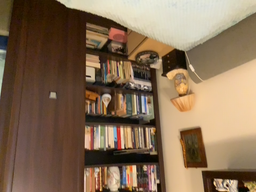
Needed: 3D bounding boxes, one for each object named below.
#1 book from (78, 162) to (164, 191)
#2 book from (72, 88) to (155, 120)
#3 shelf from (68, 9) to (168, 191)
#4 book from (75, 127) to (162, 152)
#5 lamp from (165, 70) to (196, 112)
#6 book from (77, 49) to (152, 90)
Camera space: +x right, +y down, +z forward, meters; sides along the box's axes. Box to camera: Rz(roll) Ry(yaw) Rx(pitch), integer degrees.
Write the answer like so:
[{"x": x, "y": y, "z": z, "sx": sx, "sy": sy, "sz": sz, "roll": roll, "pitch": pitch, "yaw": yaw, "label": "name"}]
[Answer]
[{"x": -0.060, "y": 0.820, "z": 2.110, "sx": 0.800, "sy": 0.290, "sz": 0.290, "roll": 7, "pitch": 162, "yaw": -27, "label": "book"}, {"x": -0.150, "y": 0.110, "z": 2.310, "sx": 0.830, "sy": 0.210, "sz": 0.320, "roll": 7, "pitch": 162, "yaw": -27, "label": "book"}, {"x": -0.100, "y": 0.130, "z": 2.250, "sx": 0.910, "sy": 1.970, "sz": 0.300, "roll": 6, "pitch": 162, "yaw": -26, "label": "shelf"}, {"x": -0.080, "y": 0.460, "z": 2.190, "sx": 0.870, "sy": 0.210, "sz": 0.240, "roll": 7, "pitch": 162, "yaw": -27, "label": "book"}, {"x": 0.480, "y": -0.040, "z": 1.970, "sx": 0.180, "sy": 0.340, "sz": 0.170, "roll": 6, "pitch": 162, "yaw": -26, "label": "lamp"}, {"x": -0.140, "y": -0.270, "z": 2.390, "sx": 0.800, "sy": 0.260, "sz": 0.260, "roll": 7, "pitch": 162, "yaw": -27, "label": "book"}]
